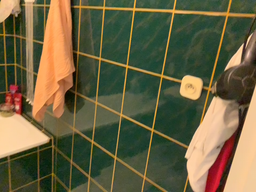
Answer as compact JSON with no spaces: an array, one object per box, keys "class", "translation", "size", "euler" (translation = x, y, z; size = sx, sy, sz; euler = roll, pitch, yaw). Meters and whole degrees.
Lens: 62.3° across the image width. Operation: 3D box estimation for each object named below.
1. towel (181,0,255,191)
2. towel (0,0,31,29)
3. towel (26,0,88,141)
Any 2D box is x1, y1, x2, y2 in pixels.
[{"class":"towel","translation":[0.310,0.040,0.600],"size":[0.140,0.650,0.240],"euler":[7,17,-1]},{"class":"towel","translation":[-0.920,-0.770,1.650],"size":[0.230,0.430,0.210],"euler":[19,21,32]},{"class":"towel","translation":[-0.440,-0.300,1.280],"size":[0.320,1.080,0.200],"euler":[23,23,38]}]
